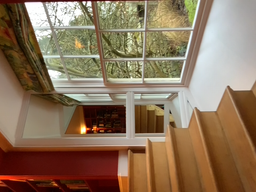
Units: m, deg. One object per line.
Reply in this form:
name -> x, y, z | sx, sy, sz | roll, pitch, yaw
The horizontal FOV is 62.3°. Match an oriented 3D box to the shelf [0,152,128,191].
shelf -> -0.990, 1.230, 2.860 | 1.330, 1.980, 0.350 | 90, 180, -48
